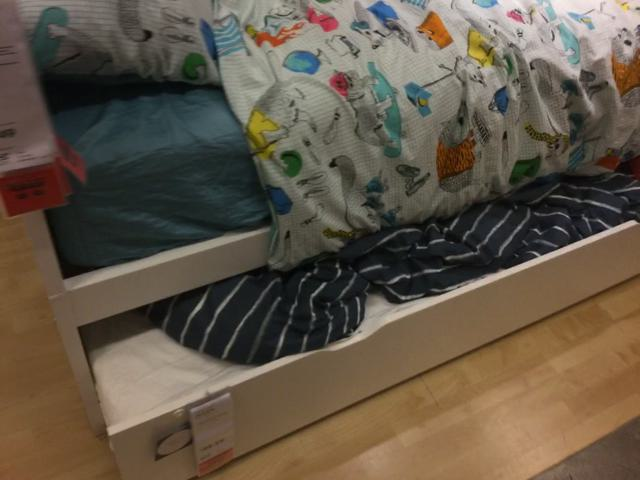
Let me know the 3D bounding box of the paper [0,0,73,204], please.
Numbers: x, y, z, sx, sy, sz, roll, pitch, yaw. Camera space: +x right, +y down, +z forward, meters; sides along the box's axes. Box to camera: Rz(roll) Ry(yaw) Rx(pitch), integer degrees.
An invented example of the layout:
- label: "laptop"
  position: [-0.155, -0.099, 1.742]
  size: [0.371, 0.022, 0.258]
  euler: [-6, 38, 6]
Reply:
- label: "paper"
  position: [-0.370, -0.160, 0.690]
  size: [0.080, 0.260, 0.040]
  euler: [-20, 53, -23]

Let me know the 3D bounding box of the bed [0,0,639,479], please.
- label: "bed"
  position: [0.260, -0.470, 1.570]
  size: [2.190, 1.000, 1.400]
  euler: [-19, 53, -23]
